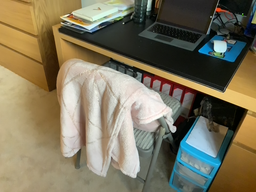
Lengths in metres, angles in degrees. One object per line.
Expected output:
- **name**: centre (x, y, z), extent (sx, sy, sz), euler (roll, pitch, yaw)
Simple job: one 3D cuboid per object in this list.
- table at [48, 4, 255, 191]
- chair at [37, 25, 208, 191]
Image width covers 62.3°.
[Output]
- **table**: centre (0.350, 0.040, 1.240), extent (1.460, 0.710, 0.660), euler (25, 42, 25)
- **chair**: centre (-0.010, 0.130, 1.090), extent (0.480, 0.750, 0.530), euler (25, 42, 25)
